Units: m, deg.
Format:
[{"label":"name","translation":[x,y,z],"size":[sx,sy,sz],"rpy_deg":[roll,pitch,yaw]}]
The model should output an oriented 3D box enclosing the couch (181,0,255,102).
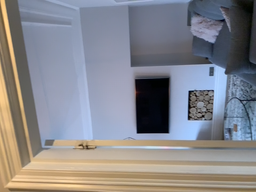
[{"label":"couch","translation":[1.310,-0.820,2.790],"size":[2.360,0.840,1.100],"rpy_deg":[-72,-19,-72]}]
